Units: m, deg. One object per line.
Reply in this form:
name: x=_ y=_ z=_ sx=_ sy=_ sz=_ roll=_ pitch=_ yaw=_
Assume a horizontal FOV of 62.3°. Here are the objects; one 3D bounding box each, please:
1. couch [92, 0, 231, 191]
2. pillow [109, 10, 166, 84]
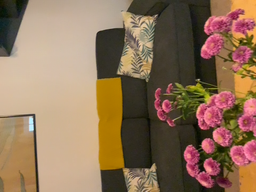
couch: x=0.200 y=0.250 z=1.880 sx=0.950 sy=0.800 sz=2.340 roll=172 pitch=95 yaw=-73
pillow: x=0.070 y=-0.430 z=1.910 sx=0.160 sy=0.310 sz=0.550 roll=-19 pitch=-47 yaw=-59
